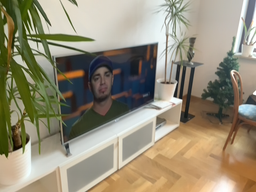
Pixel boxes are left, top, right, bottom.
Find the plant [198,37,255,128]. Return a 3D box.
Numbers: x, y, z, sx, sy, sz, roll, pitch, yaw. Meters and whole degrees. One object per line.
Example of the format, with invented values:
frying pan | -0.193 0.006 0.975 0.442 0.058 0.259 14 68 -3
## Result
plant | 1.470 -0.220 3.120 0.530 1.170 0.470 20 28 38
